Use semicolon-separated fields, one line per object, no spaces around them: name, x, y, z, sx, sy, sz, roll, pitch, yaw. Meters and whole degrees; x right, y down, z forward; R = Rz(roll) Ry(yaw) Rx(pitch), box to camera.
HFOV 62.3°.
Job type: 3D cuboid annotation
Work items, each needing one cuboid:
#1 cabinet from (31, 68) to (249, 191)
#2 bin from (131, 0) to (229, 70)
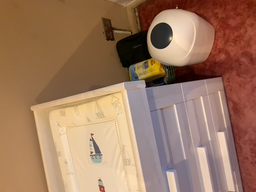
cabinet;0.170;0.370;1.100;0.570;0.940;0.900;-10;91;40
bin;0.320;-0.350;1.210;0.290;0.510;0.330;-13;89;40
